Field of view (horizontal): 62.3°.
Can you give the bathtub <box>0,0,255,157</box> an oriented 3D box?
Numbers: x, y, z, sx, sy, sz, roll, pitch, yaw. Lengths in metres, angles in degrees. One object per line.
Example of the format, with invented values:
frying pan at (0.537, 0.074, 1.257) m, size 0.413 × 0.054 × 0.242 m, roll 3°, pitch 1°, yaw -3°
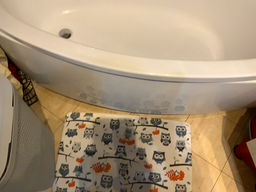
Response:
bathtub at (0.050, -0.340, 1.190) m, size 1.520 × 0.590 × 1.030 m, roll -7°, pitch 66°, yaw -5°
